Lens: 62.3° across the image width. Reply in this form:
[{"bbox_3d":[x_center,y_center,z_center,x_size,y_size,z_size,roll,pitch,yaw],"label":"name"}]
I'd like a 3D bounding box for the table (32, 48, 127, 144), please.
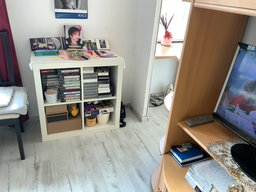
[{"bbox_3d":[-0.500,-0.030,2.200,0.820,0.810,0.420,-7,29,-22],"label":"table"}]

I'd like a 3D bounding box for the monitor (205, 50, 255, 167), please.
[{"bbox_3d":[0.600,0.100,0.890,0.050,0.450,0.630,-6,26,-20],"label":"monitor"}]

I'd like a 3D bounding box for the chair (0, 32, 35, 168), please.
[{"bbox_3d":[-1.110,0.040,1.730,0.520,1.010,0.480,-7,29,-22],"label":"chair"}]
